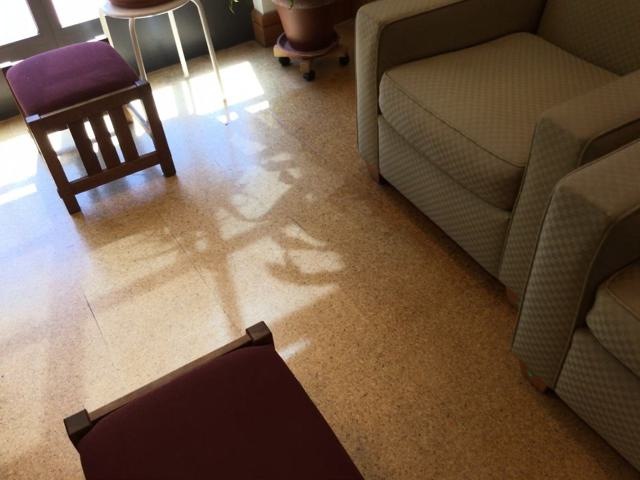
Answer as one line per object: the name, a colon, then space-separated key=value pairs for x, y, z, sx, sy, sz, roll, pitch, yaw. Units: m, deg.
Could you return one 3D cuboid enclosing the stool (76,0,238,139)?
stool: x=-0.660 y=-0.800 z=2.310 sx=0.400 sy=0.520 sz=0.500 roll=-26 pitch=46 yaw=-22
